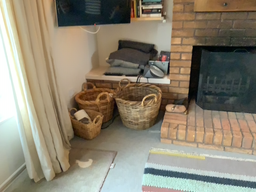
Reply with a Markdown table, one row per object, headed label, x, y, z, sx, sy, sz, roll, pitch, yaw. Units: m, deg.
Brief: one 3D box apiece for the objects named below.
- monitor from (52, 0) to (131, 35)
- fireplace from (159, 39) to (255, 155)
| label | x | y | z | sx | sy | sz | roll | pitch | yaw |
| --- | --- | --- | --- | --- | --- | --- | --- | --- | --- |
| monitor | -0.310 | -0.870 | 1.970 | 0.750 | 0.440 | 0.040 | -22 | 35 | -25 |
| fireplace | 0.990 | -0.090 | 2.120 | 1.200 | 0.790 | 1.070 | 4 | 23 | 15 |
